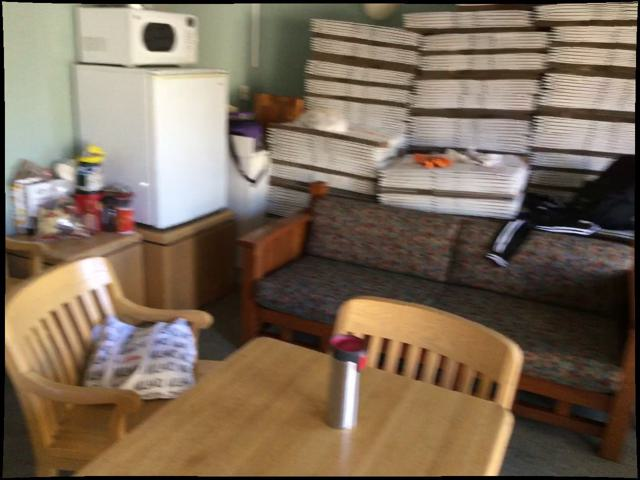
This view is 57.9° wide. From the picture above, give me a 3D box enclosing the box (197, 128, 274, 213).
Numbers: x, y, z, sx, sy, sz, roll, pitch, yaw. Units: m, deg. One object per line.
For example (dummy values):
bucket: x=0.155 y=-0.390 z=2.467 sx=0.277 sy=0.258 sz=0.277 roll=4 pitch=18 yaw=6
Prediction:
box: x=-0.519 y=-0.440 z=3.600 sx=0.400 sy=0.440 sz=0.240 roll=12 pitch=23 yaw=25
